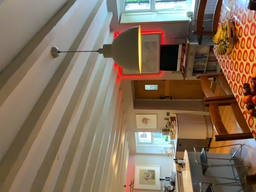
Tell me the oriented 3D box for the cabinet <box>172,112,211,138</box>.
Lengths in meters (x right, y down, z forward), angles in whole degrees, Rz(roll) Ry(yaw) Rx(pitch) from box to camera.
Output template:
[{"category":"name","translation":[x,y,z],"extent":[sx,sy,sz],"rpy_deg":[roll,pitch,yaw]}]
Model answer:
[{"category":"cabinet","translation":[1.720,0.800,5.850],"extent":[0.620,0.910,0.340],"rpy_deg":[-82,-10,-49]}]

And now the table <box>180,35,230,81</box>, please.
[{"category":"table","translation":[1.630,-0.810,4.650],"extent":[0.350,0.850,0.930],"rpy_deg":[-82,-10,-49]}]

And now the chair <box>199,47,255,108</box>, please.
[{"category":"chair","translation":[1.290,-0.190,2.140],"extent":[0.430,0.980,0.450],"rpy_deg":[-82,-10,-49]}]

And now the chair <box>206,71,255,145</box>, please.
[{"category":"chair","translation":[1.250,0.100,1.810],"extent":[0.450,0.980,0.450],"rpy_deg":[-82,-10,-49]}]
